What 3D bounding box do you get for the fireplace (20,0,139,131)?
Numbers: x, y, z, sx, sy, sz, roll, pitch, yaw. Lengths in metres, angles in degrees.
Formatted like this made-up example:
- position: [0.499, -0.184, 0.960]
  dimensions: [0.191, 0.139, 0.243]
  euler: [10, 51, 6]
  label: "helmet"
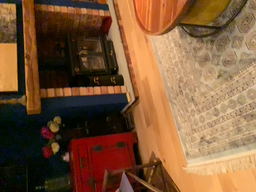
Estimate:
- position: [-0.780, -0.530, 3.060]
  dimensions: [0.930, 1.270, 1.710]
  euler: [132, 129, -59]
  label: "fireplace"
